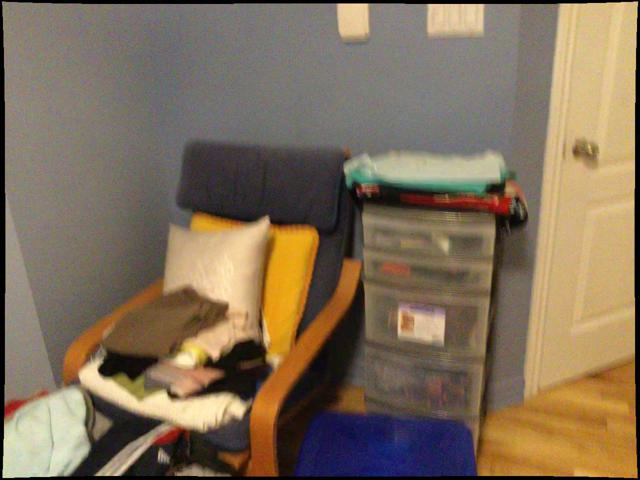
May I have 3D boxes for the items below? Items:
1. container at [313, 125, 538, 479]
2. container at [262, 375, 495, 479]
[{"bbox_3d":[0.340,0.190,1.730,0.500,0.971,0.450,5,25,23],"label":"container"},{"bbox_3d":[0.180,0.651,1.550,0.490,0.280,0.450,5,25,23],"label":"container"}]
